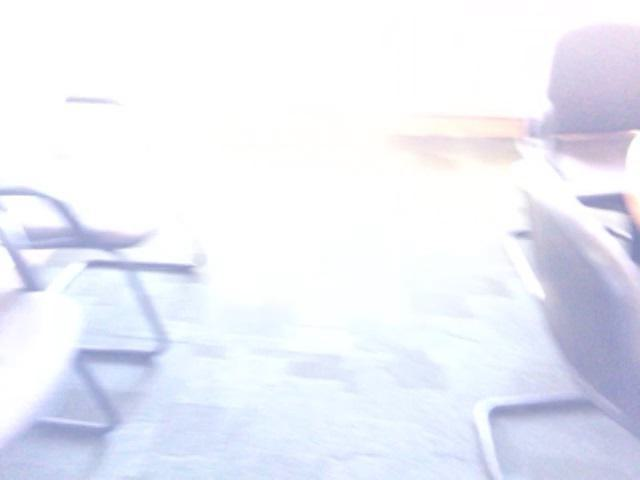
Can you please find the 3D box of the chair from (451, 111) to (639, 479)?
[{"bbox_3d":[0.640,0.250,1.230,0.620,0.840,0.650,2,35,8],"label":"chair"}]

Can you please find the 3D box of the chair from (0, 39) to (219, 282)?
[{"bbox_3d":[-0.710,-0.270,1.770,0.570,0.490,0.620,2,35,8],"label":"chair"}]

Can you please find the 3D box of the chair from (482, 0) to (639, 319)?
[{"bbox_3d":[0.980,-0.270,1.920,0.690,0.850,0.630,0,35,6],"label":"chair"}]
